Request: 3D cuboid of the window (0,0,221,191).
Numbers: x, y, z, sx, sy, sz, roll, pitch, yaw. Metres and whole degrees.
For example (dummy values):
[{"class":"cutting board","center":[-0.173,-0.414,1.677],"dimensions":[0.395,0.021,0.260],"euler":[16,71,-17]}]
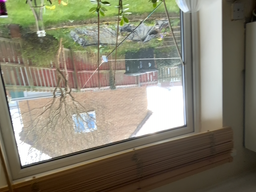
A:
[{"class":"window","center":[-0.090,-0.190,1.140],"dimensions":[1.270,1.050,0.340],"euler":[-11,-166,-25]}]
